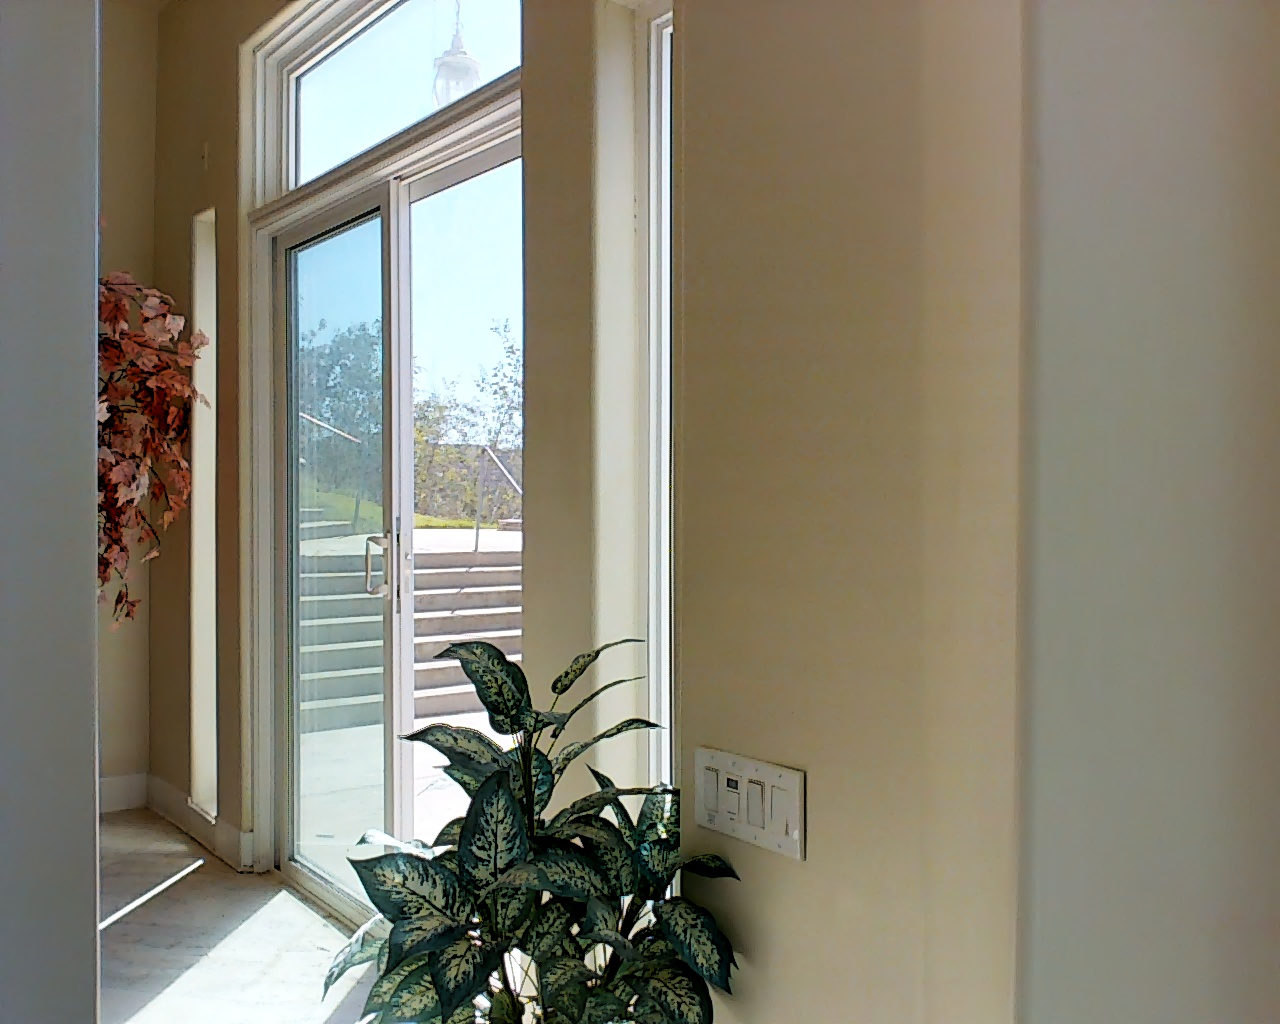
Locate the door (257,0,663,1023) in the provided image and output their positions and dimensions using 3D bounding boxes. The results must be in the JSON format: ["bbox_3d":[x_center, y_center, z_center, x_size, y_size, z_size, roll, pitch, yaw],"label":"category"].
[{"bbox_3d":[-0.690,-0.170,3.230,0.150,3.060,2.130,0,1,-40],"label":"door"}]
